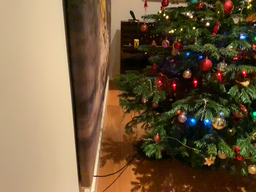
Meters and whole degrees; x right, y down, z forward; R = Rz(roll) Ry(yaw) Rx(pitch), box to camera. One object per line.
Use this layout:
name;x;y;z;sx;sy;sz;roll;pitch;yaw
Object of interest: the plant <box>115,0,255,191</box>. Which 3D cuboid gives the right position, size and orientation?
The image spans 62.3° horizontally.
plant;0.810;-0.500;1.740;1.810;2.150;1.630;1;24;-4
